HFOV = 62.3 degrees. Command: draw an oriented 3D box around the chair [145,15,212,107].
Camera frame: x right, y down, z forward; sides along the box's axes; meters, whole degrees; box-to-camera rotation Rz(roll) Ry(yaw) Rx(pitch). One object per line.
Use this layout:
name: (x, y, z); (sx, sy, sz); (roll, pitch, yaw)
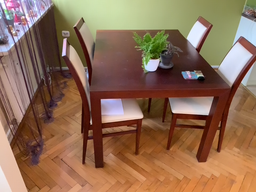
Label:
chair: (0.500, -0.370, 2.370); (0.500, 0.930, 0.390); (-1, 34, -5)

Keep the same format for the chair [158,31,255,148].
chair: (0.630, -0.030, 1.880); (0.550, 0.940, 0.440); (1, 34, -3)

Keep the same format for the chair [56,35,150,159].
chair: (-0.180, 0.040, 1.720); (0.570, 0.940, 0.390); (0, 34, -5)
